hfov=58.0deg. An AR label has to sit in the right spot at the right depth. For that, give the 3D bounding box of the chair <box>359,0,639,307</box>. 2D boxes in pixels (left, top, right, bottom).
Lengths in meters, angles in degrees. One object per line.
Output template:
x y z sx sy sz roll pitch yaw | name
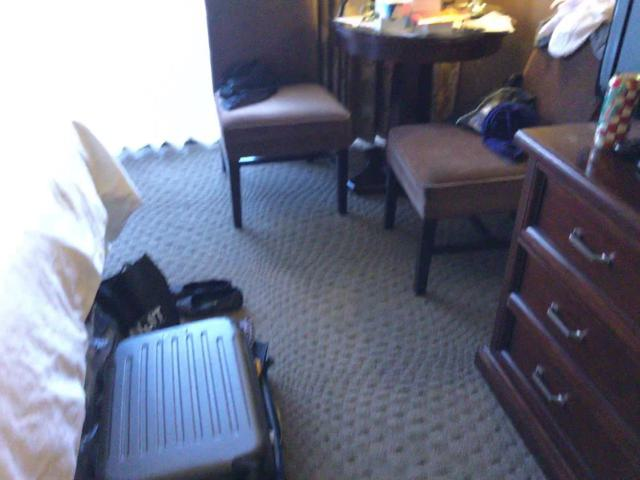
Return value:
0.610 -0.350 2.090 0.720 0.880 0.640 -6 32 -13 | chair

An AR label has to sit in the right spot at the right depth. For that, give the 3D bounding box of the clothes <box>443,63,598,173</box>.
0.680 -0.450 2.050 0.270 0.220 0.490 -6 32 -13 | clothes

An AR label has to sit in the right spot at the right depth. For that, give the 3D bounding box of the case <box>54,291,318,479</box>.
-0.330 0.450 1.420 0.500 0.270 0.630 -6 32 -13 | case

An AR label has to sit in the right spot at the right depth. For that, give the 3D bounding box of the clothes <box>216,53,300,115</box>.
-0.260 -0.650 2.380 0.290 0.150 0.330 -6 32 -13 | clothes

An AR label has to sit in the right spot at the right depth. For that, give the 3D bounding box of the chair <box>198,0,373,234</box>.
-0.190 -0.650 2.510 0.560 0.940 0.770 -6 32 -13 | chair
